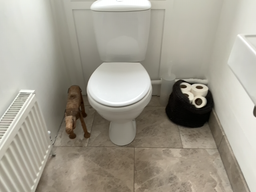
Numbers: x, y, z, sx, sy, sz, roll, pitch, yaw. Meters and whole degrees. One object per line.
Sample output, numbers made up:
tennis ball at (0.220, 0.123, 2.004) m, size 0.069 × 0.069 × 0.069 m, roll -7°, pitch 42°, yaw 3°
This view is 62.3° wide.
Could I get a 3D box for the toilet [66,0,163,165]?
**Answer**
toilet at (-0.050, -0.100, 1.280) m, size 0.360 × 0.770 × 0.660 m, roll 0°, pitch 38°, yaw 0°
